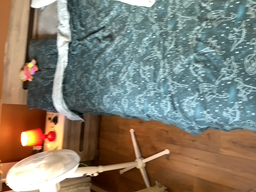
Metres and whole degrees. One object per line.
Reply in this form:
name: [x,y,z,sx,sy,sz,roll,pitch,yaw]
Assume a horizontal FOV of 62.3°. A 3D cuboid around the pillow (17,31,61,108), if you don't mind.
pillow: [-0.840,-0.220,1.970,0.480,0.160,0.630,2,87,46]
